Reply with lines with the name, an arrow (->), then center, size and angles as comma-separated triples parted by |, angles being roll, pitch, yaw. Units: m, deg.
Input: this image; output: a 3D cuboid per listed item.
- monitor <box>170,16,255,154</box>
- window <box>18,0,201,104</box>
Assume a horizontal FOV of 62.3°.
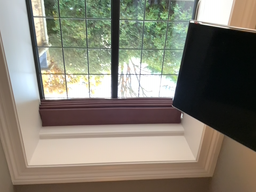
monitor -> 0.470, -0.010, 0.820 | 0.030, 0.440, 0.740 | -17, -144, -31
window -> -0.110, -0.490, 1.600 | 1.250, 1.140, 0.130 | -1, -153, -8
